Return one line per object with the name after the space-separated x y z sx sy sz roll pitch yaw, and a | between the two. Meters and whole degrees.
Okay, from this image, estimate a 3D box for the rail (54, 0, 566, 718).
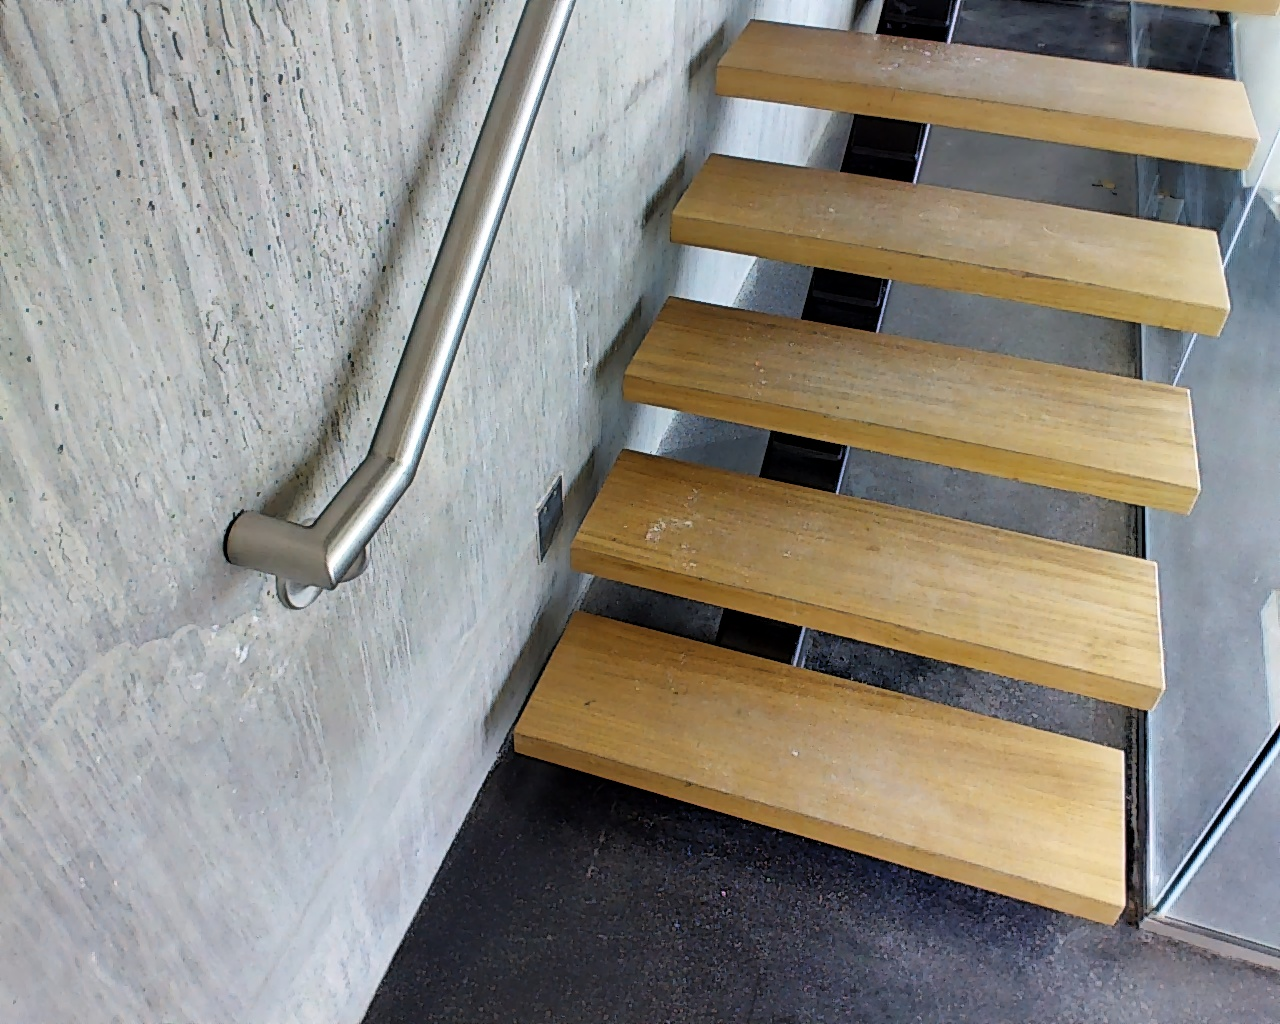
-0.230 -0.200 1.040 0.110 0.580 0.540 14 44 13 | rail
